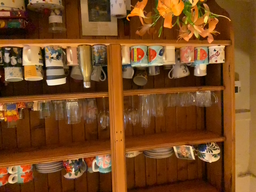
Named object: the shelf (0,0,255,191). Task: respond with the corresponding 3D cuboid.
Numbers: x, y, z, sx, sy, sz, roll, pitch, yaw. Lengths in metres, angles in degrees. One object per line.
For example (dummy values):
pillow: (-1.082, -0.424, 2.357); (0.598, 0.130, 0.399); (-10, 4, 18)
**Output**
shelf: (-0.020, 0.070, 1.140); (1.380, 1.330, 0.400); (-3, -175, -11)
